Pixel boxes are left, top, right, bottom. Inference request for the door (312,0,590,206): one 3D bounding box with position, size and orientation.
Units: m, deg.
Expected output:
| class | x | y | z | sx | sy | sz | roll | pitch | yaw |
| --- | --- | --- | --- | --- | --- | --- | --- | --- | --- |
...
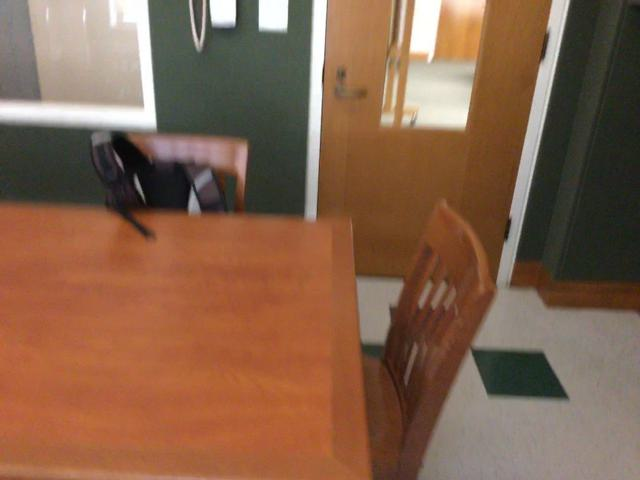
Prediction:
| class | x | y | z | sx | sy | sz | roll | pitch | yaw |
| --- | --- | --- | --- | --- | --- | --- | --- | --- | --- |
| door | 0.520 | -0.980 | 2.260 | 1.030 | 1.720 | 0.110 | 3 | 26 | 0 |
